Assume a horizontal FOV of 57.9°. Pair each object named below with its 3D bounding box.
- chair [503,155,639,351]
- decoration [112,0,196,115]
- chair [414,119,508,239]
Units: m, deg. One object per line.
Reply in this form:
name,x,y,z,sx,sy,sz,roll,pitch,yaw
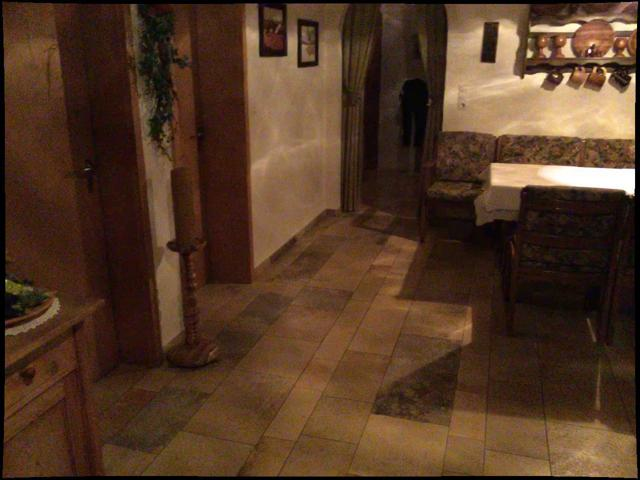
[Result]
chair,1.429,0.030,3.230,0.679,0.861,0.660,6,20,17
decoration,-0.739,-0.871,2.600,0.200,0.571,0.280,6,20,18
chair,1.189,-0.541,4.860,0.649,0.851,0.630,6,20,18
